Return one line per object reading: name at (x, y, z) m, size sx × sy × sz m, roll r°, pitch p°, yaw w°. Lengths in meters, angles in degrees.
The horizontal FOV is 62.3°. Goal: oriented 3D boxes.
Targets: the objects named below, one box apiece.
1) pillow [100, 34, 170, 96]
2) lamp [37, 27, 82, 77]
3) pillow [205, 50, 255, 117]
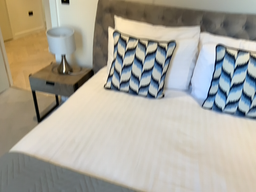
pillow at (0.060, -0.220, 1.470) m, size 0.430 × 0.380 × 0.210 m, roll 3°, pitch 17°, yaw 17°
lamp at (-0.620, -0.420, 1.980) m, size 0.250 × 0.360 × 0.310 m, roll 11°, pitch 30°, yaw 12°
pillow at (0.740, -0.080, 1.310) m, size 0.440 × 0.370 × 0.190 m, roll 4°, pitch 20°, yaw 13°
